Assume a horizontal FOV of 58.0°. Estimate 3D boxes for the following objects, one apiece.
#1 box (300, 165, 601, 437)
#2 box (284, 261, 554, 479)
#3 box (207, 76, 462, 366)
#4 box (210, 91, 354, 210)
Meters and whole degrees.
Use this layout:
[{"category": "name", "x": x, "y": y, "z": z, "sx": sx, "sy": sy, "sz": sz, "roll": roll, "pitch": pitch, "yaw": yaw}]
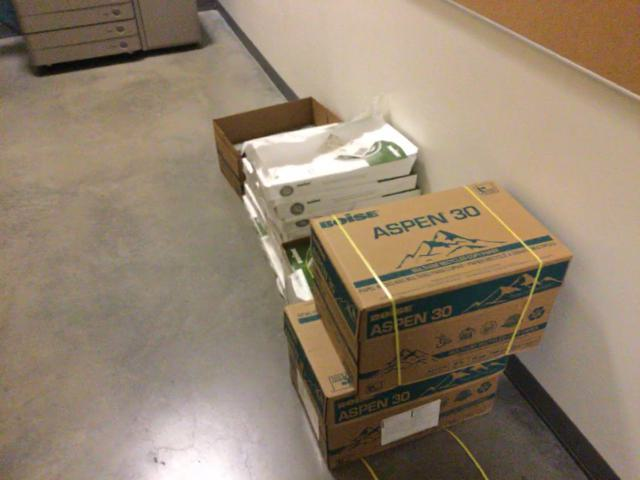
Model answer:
[{"category": "box", "x": 0.250, "y": 0.110, "z": 1.290, "sx": 0.480, "sy": 0.320, "sz": 0.390, "roll": -13, "pitch": 40, "yaw": -16}, {"category": "box", "x": 0.220, "y": 0.320, "z": 1.430, "sx": 0.530, "sy": 0.280, "sz": 0.330, "roll": -13, "pitch": 40, "yaw": -16}, {"category": "box", "x": -0.010, "y": -0.120, "z": 1.810, "sx": 0.460, "sy": 0.430, "sz": 0.840, "roll": -13, "pitch": 40, "yaw": -16}, {"category": "box", "x": -0.160, "y": -0.380, "z": 2.370, "sx": 0.470, "sy": 0.250, "sz": 0.400, "roll": -13, "pitch": 40, "yaw": -16}]
